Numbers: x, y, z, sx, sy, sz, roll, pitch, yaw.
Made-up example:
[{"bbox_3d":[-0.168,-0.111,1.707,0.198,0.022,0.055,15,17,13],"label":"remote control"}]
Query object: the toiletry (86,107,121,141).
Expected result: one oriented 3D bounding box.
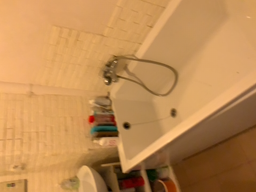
[{"bbox_3d":[-0.200,0.220,1.710,0.110,0.220,0.240,-49,47,45],"label":"toiletry"}]
